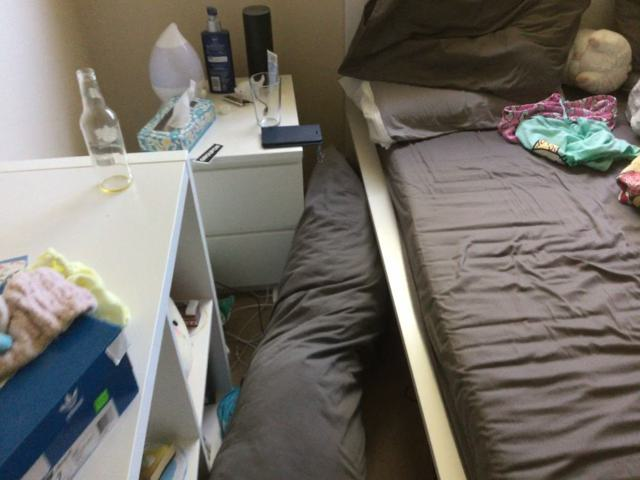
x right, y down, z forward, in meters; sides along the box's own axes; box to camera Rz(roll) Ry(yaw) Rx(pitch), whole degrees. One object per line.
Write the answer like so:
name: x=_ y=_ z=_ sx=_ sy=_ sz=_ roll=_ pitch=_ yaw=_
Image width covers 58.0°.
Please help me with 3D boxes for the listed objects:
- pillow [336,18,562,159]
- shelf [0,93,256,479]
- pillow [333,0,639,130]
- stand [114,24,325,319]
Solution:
pillow: x=0.350 y=-0.470 z=1.740 sx=0.550 sy=0.190 sz=0.440 roll=-7 pitch=39 yaw=-1
shelf: x=-0.370 y=0.540 z=0.770 sx=0.440 sy=0.870 sz=1.450 roll=-7 pitch=39 yaw=-1
pillow: x=0.450 y=-0.630 z=1.670 sx=0.790 sy=0.440 sz=0.300 roll=-7 pitch=39 yaw=-1
stand: x=-0.260 y=-0.220 z=1.800 sx=0.450 sy=0.660 sz=0.580 roll=-7 pitch=39 yaw=-1
